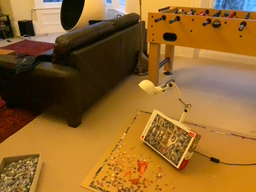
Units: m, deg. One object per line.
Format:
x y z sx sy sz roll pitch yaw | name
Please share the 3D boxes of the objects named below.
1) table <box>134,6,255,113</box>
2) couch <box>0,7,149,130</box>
0.930 -0.490 2.400 1.520 0.830 0.770 14 31 23 | table
-0.560 -0.570 2.670 1.040 0.780 1.960 12 31 20 | couch
